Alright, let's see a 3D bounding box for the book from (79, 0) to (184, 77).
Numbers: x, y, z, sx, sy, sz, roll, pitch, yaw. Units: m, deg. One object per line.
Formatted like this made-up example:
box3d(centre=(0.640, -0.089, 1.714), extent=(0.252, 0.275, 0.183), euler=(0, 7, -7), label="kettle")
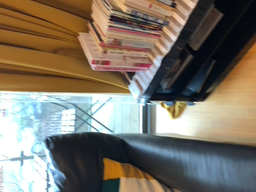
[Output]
box3d(centre=(-0.010, -0.320, 0.990), extent=(0.370, 0.290, 0.250), euler=(-61, 43, 35), label="book")
